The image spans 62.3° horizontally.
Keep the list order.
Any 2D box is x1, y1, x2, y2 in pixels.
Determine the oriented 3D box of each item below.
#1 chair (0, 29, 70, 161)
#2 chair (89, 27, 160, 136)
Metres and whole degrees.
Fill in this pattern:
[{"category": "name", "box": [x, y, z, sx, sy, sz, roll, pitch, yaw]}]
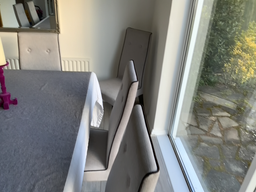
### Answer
[{"category": "chair", "box": [-0.800, -0.020, 1.960, 0.420, 1.040, 0.580, -2, 28, -12]}, {"category": "chair", "box": [-0.060, -0.190, 2.410, 0.460, 1.030, 0.570, 26, 34, 35]}]
